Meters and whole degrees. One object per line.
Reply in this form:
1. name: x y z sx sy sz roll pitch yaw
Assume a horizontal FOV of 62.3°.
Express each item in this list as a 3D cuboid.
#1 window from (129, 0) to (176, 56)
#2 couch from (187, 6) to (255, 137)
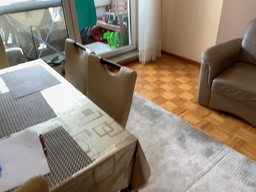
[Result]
1. window: 0.370 -1.680 3.130 0.580 2.020 0.430 -21 37 -27
2. couch: 1.370 -0.310 2.210 0.950 0.950 0.970 -24 38 -30
